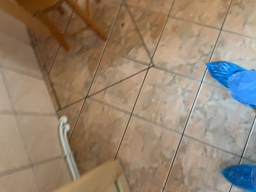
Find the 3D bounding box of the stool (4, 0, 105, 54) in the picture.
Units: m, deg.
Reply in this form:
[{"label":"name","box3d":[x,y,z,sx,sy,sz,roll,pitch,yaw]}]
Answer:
[{"label":"stool","box3d":[-0.370,-0.470,1.130,0.290,0.460,0.260,-25,79,8]}]
